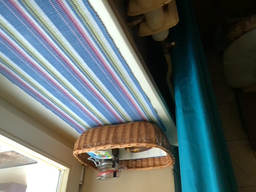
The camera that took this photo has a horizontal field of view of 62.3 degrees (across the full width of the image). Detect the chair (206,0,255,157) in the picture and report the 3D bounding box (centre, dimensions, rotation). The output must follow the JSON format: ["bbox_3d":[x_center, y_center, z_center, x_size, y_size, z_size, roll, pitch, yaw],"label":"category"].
[{"bbox_3d":[0.740,-0.220,1.120,0.430,0.870,0.530,-13,141,19],"label":"chair"}]
